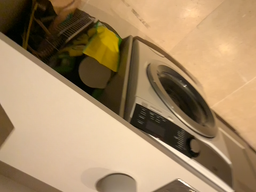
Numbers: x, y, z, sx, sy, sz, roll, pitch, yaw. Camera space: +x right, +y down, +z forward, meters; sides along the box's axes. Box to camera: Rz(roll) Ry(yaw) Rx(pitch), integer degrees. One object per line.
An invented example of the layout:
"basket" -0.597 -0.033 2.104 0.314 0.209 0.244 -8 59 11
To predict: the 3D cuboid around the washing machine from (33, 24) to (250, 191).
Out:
"washing machine" 0.070 0.190 1.300 0.700 0.900 0.690 37 119 -21
